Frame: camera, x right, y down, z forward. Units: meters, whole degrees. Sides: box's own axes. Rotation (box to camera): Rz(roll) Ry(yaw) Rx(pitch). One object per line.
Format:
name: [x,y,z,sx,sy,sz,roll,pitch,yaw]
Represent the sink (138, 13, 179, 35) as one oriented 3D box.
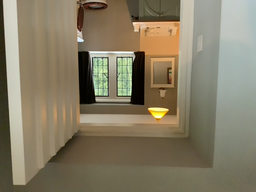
sink: [0.540,-1.330,3.950,0.710,0.290,0.450,0,-172,3]
